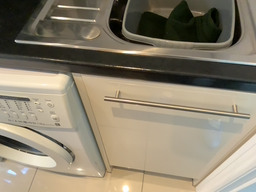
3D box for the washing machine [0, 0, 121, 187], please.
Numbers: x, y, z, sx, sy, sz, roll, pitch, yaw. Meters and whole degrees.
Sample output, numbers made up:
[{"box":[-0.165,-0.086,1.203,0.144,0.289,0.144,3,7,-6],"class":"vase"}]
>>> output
[{"box":[-0.390,-0.060,1.000,0.590,0.870,0.670,7,57,5],"class":"washing machine"}]
